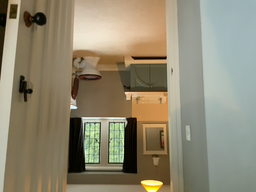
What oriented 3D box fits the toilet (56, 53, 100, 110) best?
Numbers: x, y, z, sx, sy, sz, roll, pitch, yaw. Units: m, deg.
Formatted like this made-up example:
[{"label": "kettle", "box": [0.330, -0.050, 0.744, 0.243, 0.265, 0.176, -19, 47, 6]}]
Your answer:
[{"label": "toilet", "box": [-0.910, -0.250, 4.000, 0.690, 1.000, 0.470, -1, 171, 2]}]
